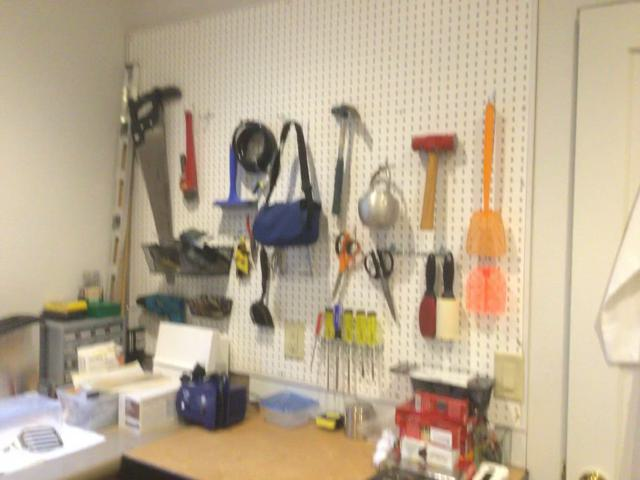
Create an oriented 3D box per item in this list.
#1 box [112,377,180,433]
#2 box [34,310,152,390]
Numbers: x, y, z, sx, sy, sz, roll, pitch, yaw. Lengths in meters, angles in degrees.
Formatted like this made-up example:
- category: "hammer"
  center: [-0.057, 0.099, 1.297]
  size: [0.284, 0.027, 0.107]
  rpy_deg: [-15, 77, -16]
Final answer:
- category: "box"
  center: [-0.510, 0.480, 1.700]
  size: [0.140, 0.110, 0.130]
  rpy_deg: [1, 1, 32]
- category: "box"
  center: [-0.740, 0.350, 1.900]
  size: [0.210, 0.190, 0.290]
  rpy_deg: [1, 1, 32]
